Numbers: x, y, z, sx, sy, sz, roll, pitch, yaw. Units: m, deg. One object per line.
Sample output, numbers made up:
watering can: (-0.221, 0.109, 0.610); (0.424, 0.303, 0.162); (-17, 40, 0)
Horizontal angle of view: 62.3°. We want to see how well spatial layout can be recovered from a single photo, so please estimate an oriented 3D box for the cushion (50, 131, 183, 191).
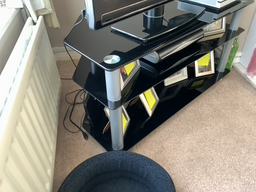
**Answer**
cushion: (-0.030, 0.380, 0.710); (0.400, 0.170, 0.440); (-11, 41, -12)
